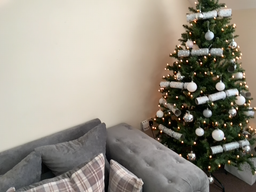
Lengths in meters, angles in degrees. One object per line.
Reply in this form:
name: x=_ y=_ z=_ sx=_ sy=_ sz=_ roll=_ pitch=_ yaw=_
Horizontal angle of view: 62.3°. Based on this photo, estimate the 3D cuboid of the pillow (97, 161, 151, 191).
pillow: x=-0.010 y=0.600 z=1.330 sx=0.170 sy=0.280 sz=0.280 roll=-26 pitch=8 yaw=-33
